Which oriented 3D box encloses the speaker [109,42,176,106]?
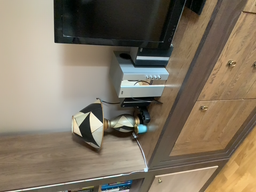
[{"bbox_3d":[0.070,-0.140,1.320,0.280,0.280,0.270,-113,29,-45],"label":"speaker"}]

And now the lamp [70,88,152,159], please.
[{"bbox_3d":[-0.150,0.180,1.560,0.360,0.490,0.320,-115,30,-47],"label":"lamp"}]
